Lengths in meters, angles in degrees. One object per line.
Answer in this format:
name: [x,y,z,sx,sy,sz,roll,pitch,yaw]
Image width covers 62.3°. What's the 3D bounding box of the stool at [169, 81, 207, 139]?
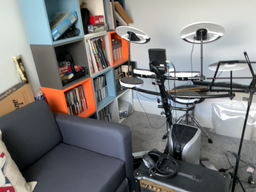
stool: [0.610,0.130,2.170,0.290,0.470,0.290,9,26,28]
